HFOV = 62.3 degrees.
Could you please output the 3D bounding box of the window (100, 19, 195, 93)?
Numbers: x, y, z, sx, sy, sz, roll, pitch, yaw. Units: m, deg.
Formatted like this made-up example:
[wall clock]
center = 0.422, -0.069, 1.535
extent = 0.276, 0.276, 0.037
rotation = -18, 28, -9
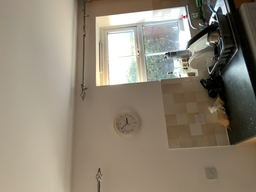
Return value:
[window]
center = 0.180, -0.490, 2.470
extent = 0.030, 1.030, 0.880
rotation = 76, -169, -67
